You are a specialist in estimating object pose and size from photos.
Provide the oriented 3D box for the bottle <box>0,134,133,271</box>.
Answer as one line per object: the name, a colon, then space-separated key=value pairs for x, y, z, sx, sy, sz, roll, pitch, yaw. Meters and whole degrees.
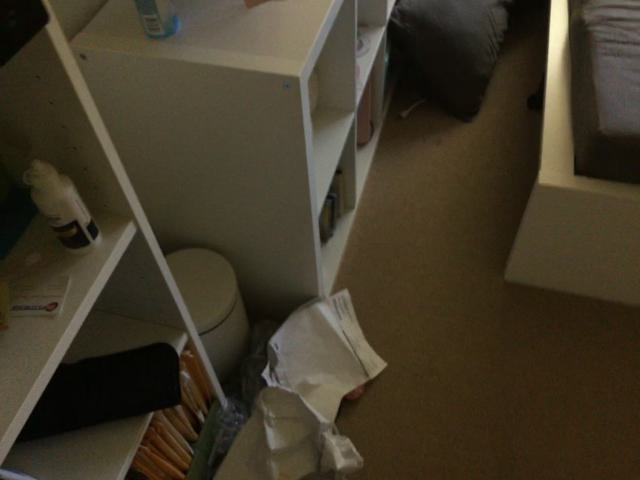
bottle: x=-0.280 y=-0.040 z=0.650 sx=0.060 sy=0.130 sz=0.080 roll=11 pitch=56 yaw=16
